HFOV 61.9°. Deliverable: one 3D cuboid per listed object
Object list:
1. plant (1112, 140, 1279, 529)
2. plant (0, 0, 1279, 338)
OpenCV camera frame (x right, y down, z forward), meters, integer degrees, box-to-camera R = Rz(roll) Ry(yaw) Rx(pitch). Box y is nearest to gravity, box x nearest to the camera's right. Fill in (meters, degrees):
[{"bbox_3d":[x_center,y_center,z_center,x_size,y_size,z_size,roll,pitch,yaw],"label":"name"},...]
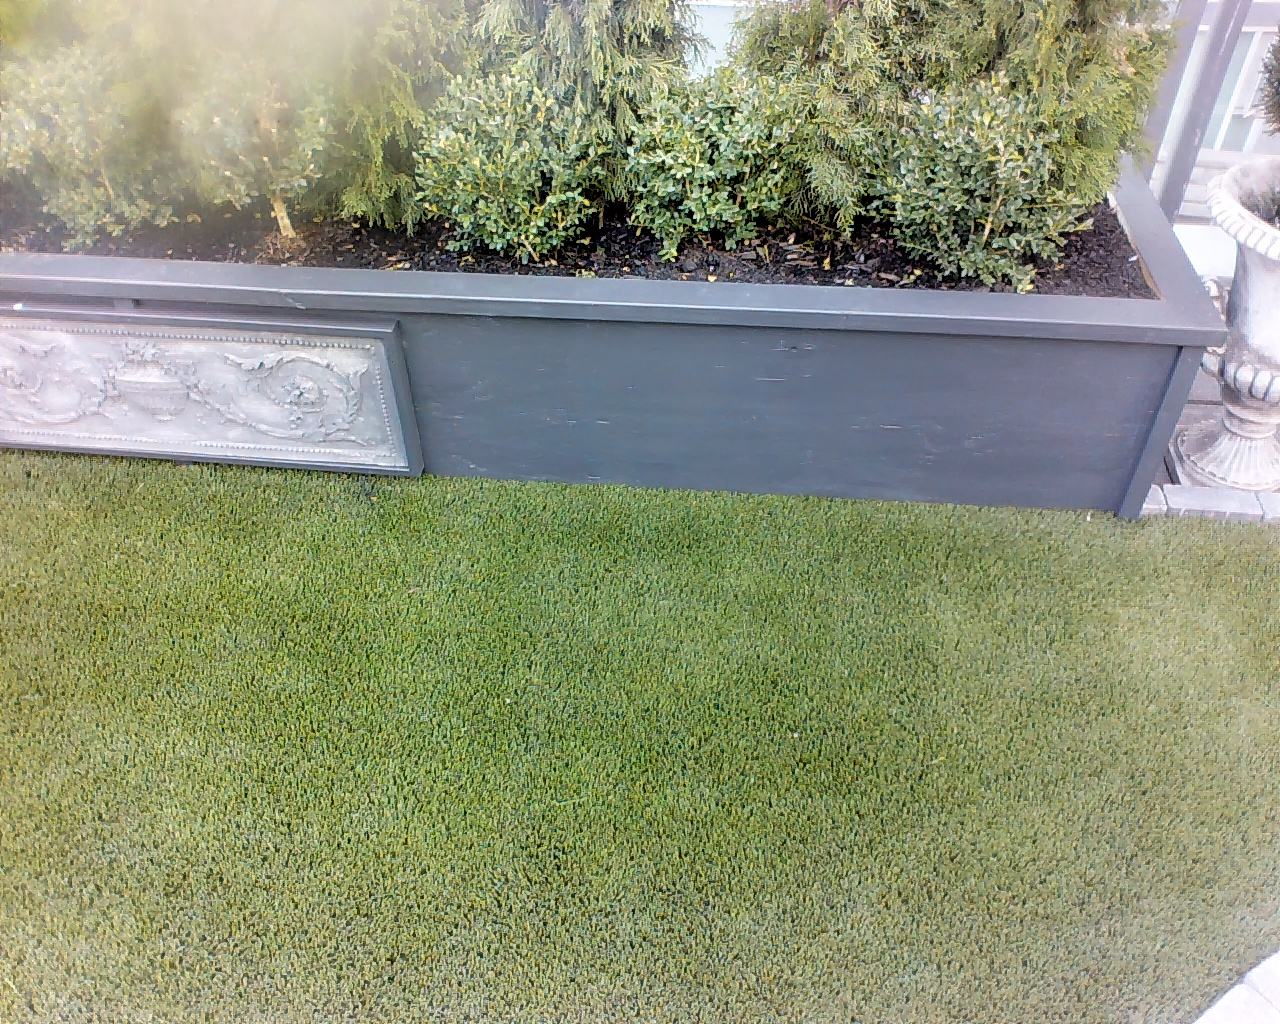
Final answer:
[{"bbox_3d":[1.230,-0.330,2.040,0.410,0.570,0.440,7,42,8],"label":"plant"},{"bbox_3d":[-0.960,-1.060,1.800,3.769,1.180,0.490,5,42,6],"label":"plant"}]
